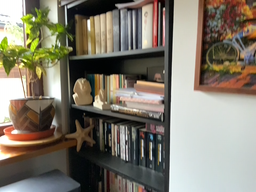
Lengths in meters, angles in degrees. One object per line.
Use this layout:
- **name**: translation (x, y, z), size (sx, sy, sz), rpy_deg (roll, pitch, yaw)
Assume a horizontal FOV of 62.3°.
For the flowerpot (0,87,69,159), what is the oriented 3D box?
- **flowerpot**: translation (-0.660, 0.150, 1.450), size (0.340, 0.380, 0.350), rpy_deg (6, 10, 43)
